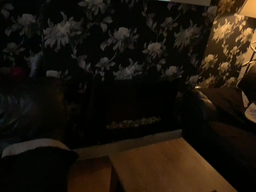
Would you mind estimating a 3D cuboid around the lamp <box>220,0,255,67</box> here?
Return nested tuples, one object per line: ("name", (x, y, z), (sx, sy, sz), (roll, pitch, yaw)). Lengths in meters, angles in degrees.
("lamp", (1.390, -0.770, 2.230), (0.510, 0.810, 0.420), (21, 30, 26))
